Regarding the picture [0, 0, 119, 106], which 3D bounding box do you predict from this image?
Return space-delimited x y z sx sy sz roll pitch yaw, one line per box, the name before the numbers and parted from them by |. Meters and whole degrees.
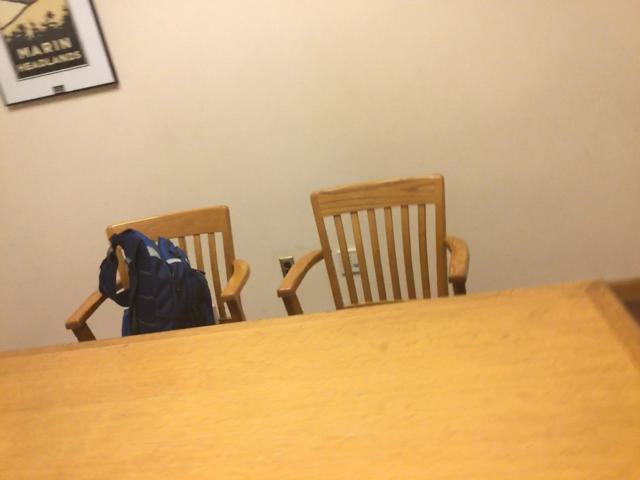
picture | -1.240 -0.960 2.350 0.650 0.750 0.030 -8 20 8
